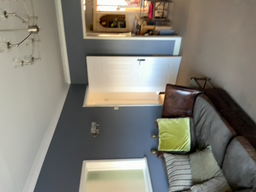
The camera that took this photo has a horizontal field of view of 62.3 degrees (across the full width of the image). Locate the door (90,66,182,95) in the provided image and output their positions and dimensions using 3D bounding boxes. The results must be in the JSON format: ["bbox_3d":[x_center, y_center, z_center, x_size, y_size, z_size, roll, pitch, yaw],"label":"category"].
[{"bbox_3d":[0.170,-0.330,4.730,0.170,1.950,0.650,-98,10,-53],"label":"door"}]
